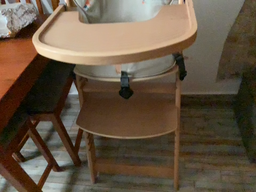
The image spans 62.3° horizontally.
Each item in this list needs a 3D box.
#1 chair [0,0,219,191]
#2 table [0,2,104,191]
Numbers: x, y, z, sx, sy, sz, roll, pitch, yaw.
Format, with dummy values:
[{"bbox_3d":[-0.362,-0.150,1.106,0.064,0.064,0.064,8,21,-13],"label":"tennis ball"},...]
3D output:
[{"bbox_3d":[0.010,-0.010,0.940,0.510,0.910,0.470,0,45,10],"label":"chair"},{"bbox_3d":[-0.640,0.090,1.050,0.750,0.740,0.790,0,42,11],"label":"table"}]
